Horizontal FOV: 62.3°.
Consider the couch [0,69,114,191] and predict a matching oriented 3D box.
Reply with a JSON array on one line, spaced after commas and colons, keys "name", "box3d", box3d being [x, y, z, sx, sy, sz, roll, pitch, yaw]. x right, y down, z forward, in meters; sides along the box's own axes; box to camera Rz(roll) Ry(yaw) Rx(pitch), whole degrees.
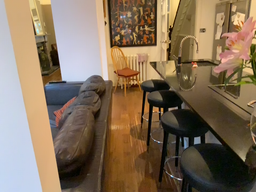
[{"name": "couch", "box3d": [-0.660, 0.380, 2.110, 0.990, 0.790, 2.330, -3, 19, -3]}]

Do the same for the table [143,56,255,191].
[{"name": "table", "box3d": [0.810, 0.240, 2.170, 0.910, 0.880, 2.520, -4, 19, -4]}]
